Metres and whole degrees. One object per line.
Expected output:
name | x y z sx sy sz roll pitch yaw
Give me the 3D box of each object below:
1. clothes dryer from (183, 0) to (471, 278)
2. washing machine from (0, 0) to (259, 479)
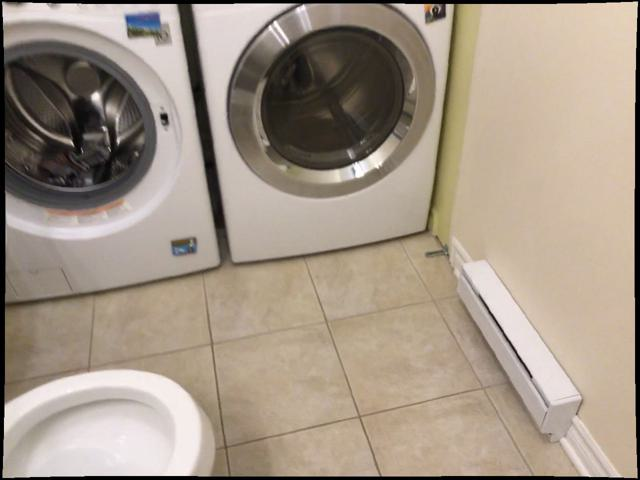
clothes dryer | -0.040 -0.541 1.890 0.709 0.971 0.740 -10 41 -9
washing machine | -0.729 -0.240 1.530 0.849 0.991 1.280 -10 41 -9
